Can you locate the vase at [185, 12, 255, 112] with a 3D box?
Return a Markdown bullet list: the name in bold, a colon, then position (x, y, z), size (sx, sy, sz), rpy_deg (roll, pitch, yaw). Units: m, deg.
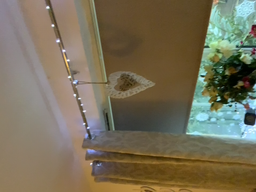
- **vase**: position (0.640, -0.190, 1.240), size (0.320, 0.510, 0.480), rpy_deg (-82, -9, -48)
